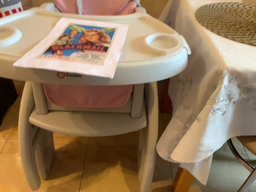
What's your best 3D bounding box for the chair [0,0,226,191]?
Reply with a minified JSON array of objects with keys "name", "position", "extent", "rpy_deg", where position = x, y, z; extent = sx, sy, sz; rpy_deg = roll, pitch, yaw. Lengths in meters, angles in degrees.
[{"name":"chair","position":[-0.140,-0.120,0.890],"extent":[0.600,0.990,0.690],"rpy_deg":[3,41,-1]}]
